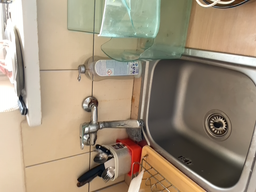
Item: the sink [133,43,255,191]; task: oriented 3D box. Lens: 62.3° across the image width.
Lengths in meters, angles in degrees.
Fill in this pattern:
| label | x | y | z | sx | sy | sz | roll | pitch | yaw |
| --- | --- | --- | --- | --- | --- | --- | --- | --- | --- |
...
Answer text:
| label | x | y | z | sx | sy | sz | roll | pitch | yaw |
| --- | --- | --- | --- | --- | --- | --- | --- | --- | --- |
| sink | 0.260 | 0.050 | 0.720 | 0.510 | 0.200 | 0.400 | 27 | 118 | 53 |
